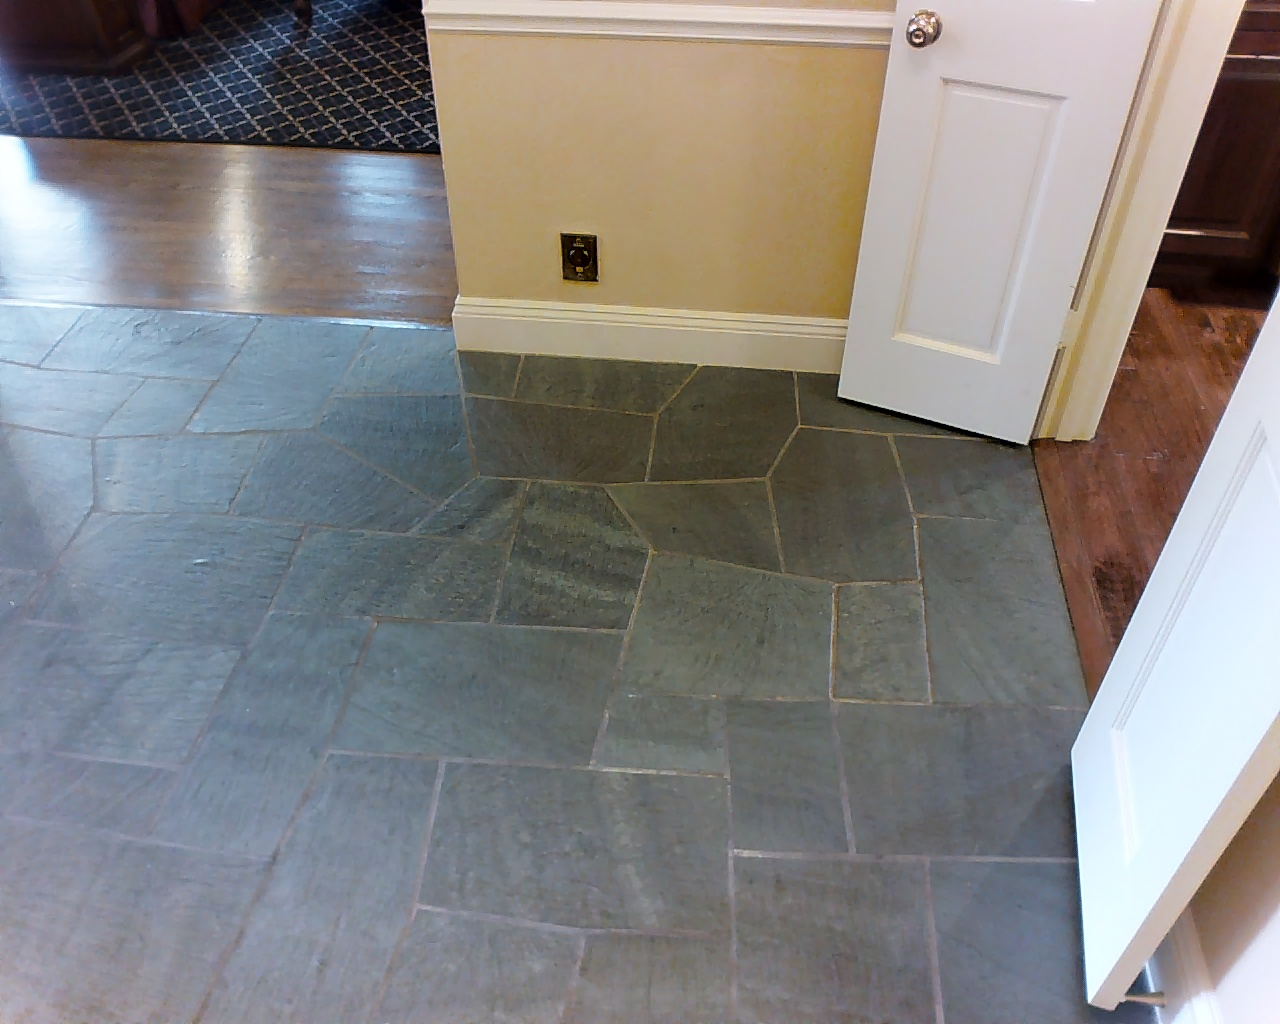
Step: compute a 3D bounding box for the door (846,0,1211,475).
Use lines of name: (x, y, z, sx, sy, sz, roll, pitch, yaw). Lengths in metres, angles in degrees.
door: (0.750, -0.950, 1.920, 0.500, 2.080, 0.060, 17, 45, 19)
